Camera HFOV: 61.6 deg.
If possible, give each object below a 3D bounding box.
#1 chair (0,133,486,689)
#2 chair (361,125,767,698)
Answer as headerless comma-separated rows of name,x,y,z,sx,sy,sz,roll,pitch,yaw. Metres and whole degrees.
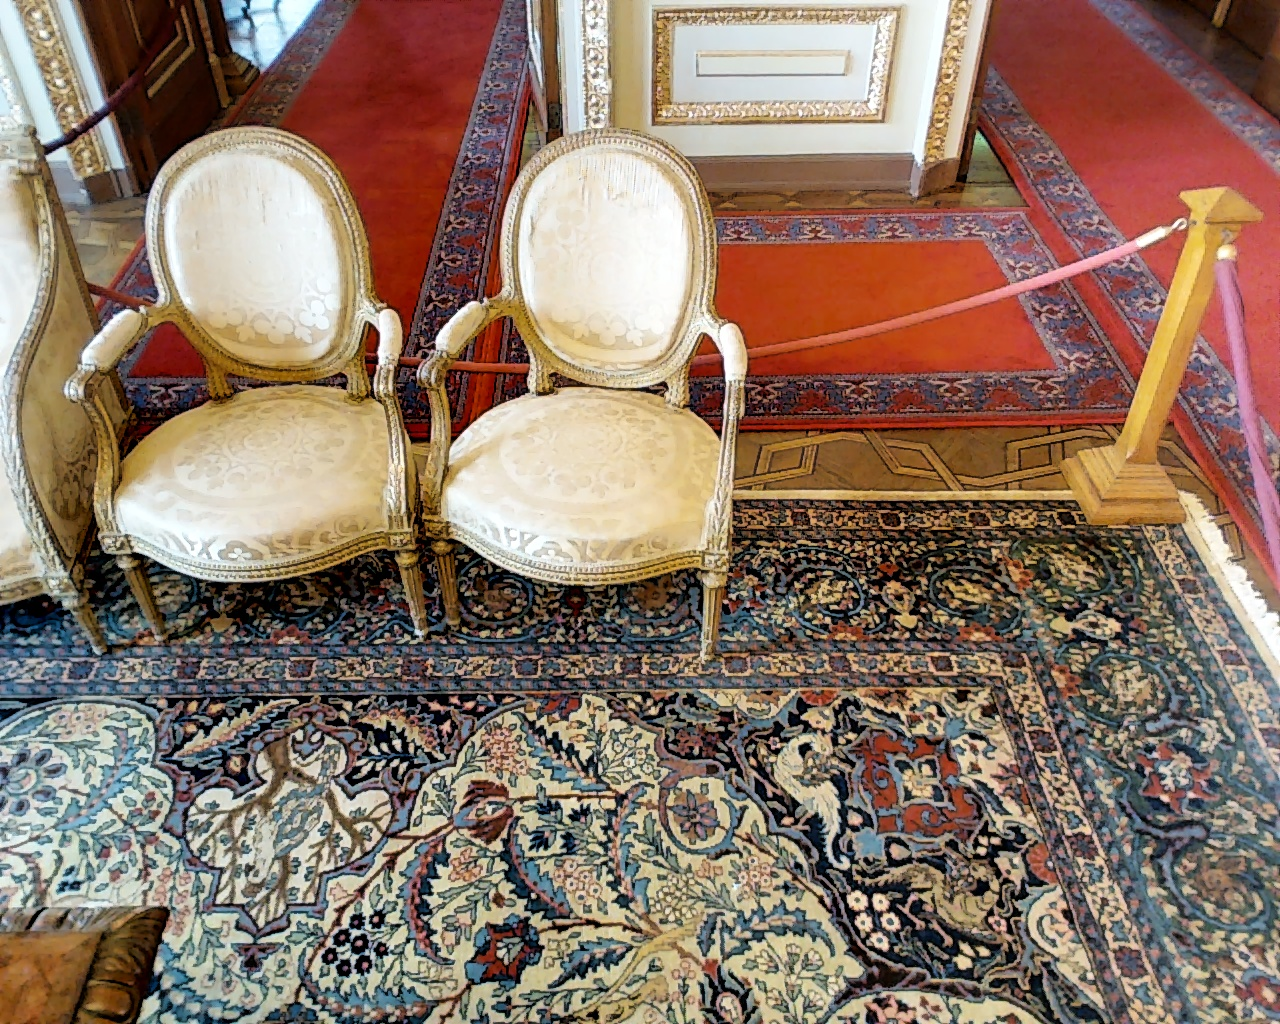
chair,-0.710,-0.180,2.120,0.650,0.910,0.600,0,41,1
chair,-0.090,-0.190,2.120,0.570,0.890,0.610,6,42,8
